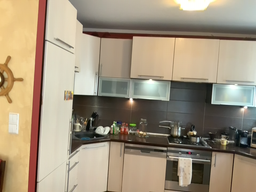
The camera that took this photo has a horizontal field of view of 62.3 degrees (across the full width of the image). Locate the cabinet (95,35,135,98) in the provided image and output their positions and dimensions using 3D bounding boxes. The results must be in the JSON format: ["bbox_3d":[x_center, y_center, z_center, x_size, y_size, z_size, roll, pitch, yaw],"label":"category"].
[{"bbox_3d":[-0.200,-0.460,3.400,0.520,0.930,0.330,4,2,7],"label":"cabinet"}]
